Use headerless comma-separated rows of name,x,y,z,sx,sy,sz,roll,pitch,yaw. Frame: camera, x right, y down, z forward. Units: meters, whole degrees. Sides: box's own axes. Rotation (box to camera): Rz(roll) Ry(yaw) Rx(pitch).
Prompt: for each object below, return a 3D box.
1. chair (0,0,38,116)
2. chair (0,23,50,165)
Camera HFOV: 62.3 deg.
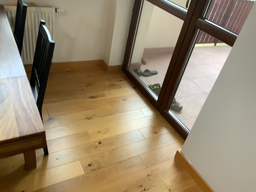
chair,-1.040,-0.280,1.680,0.510,0.850,0.360,-9,41,-28
chair,-0.810,0.020,1.350,0.510,0.850,0.360,-9,41,-28
